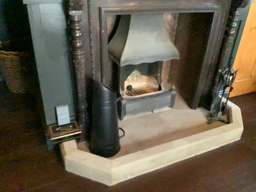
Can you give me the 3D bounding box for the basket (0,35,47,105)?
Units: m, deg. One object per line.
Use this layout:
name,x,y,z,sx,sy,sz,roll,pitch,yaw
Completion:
basket,-1.150,-0.300,2.270,0.370,0.560,0.480,-13,33,-26
